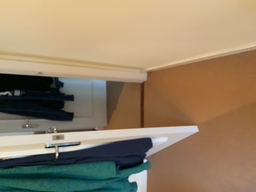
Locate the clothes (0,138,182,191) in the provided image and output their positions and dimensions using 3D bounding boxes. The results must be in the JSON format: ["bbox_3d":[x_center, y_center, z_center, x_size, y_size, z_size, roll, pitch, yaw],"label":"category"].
[{"bbox_3d":[-0.400,0.590,1.370,0.680,1.320,0.290,-51,47,45],"label":"clothes"}]

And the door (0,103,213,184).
[{"bbox_3d":[-0.520,0.340,1.350,0.920,2.070,0.180,-47,50,48],"label":"door"}]
